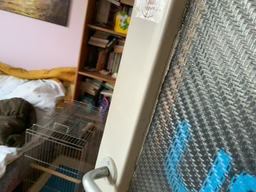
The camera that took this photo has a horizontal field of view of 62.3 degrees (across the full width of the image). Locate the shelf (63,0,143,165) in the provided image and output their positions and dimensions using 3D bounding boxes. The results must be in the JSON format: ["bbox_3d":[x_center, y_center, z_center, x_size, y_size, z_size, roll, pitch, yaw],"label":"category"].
[{"bbox_3d":[-0.190,-0.300,1.800,0.340,1.860,0.330,16,20,2],"label":"shelf"}]
